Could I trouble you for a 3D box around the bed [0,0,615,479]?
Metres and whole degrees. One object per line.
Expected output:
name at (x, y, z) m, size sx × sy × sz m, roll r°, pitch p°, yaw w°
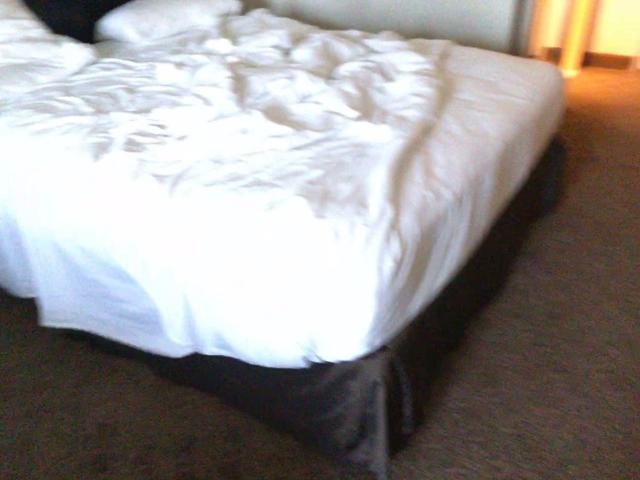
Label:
bed at (-0.320, -0.610, 1.980) m, size 2.120 × 1.510 × 1.730 m, roll 17°, pitch 38°, yaw 28°
